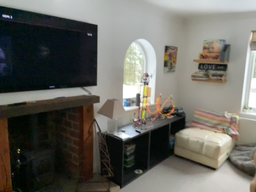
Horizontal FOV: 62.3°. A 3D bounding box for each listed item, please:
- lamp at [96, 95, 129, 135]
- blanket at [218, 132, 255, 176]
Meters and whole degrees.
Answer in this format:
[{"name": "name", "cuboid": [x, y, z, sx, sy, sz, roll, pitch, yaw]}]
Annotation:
[{"name": "lamp", "cuboid": [-0.210, 0.240, 2.830, 0.310, 0.440, 0.310, 10, 13, 40]}, {"name": "blanket", "cuboid": [2.100, 0.940, 3.260, 1.120, 0.350, 0.720, 10, 13, 40]}]
